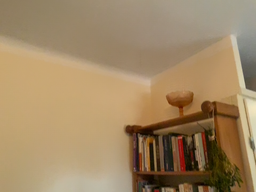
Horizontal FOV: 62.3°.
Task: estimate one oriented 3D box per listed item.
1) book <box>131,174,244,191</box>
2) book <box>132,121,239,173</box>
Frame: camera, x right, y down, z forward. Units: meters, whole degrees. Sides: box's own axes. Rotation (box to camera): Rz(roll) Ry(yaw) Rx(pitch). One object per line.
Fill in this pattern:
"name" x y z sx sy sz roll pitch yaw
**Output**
"book" 0.320 0.660 1.340 0.250 0.280 0.730 10 -21 -30
"book" 0.320 0.370 1.440 0.240 0.260 0.720 10 -21 -29
